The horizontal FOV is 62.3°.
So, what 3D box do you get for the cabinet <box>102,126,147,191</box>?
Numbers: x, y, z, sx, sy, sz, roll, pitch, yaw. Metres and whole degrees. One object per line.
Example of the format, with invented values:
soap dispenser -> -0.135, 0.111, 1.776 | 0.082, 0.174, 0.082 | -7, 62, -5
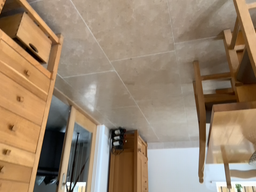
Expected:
cabinet -> -0.010, 1.390, 3.970 | 0.550, 1.380, 0.980 | -5, 153, 14
